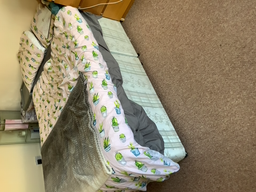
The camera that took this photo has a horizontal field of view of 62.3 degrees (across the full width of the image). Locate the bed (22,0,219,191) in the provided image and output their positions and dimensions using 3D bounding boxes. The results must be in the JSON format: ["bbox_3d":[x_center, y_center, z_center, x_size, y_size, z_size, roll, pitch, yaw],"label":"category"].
[{"bbox_3d":[-0.460,0.090,2.190,1.630,0.650,2.130,-50,52,38],"label":"bed"}]

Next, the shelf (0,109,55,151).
[{"bbox_3d":[-2.060,0.530,3.310,0.500,1.620,0.460,35,115,47],"label":"shelf"}]
